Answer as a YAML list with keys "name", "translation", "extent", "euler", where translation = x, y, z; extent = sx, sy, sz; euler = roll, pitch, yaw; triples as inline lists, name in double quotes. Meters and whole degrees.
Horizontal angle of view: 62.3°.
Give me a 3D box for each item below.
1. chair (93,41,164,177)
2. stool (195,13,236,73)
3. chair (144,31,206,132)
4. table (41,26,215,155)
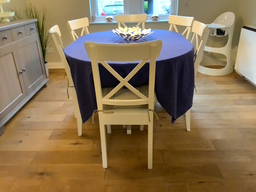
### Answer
- name: "chair"
  translation: [-0.010, 0.080, 1.500]
  extent: [0.380, 0.820, 0.450]
  euler: [-5, 26, -6]
- name: "stool"
  translation: [1.380, -0.850, 3.390]
  extent: [0.420, 0.850, 0.280]
  euler: [19, 33, 36]
- name: "chair"
  translation: [0.370, -0.130, 1.920]
  extent: [0.450, 0.820, 0.380]
  euler: [1, 26, 5]
- name: "table"
  translation: [-0.010, -0.220, 2.210]
  extent: [1.120, 0.750, 1.520]
  euler: [-2, 26, -1]
